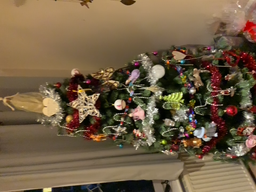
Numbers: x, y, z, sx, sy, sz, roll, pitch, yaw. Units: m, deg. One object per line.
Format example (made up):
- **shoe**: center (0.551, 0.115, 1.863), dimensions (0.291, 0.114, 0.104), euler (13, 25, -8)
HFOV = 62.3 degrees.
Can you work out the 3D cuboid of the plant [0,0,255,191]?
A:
- **plant**: center (0.160, -0.050, 1.490), dimensions (0.920, 1.910, 1.010), euler (106, 157, -46)
